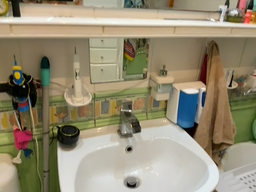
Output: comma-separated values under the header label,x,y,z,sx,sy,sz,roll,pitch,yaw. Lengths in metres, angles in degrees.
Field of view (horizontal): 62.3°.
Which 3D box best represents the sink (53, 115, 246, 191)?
label,x,y,z,sx,sy,sz,roll,pitch,yaw
sink,0.040,0.290,0.830,0.590,0.170,0.440,-6,26,-21
